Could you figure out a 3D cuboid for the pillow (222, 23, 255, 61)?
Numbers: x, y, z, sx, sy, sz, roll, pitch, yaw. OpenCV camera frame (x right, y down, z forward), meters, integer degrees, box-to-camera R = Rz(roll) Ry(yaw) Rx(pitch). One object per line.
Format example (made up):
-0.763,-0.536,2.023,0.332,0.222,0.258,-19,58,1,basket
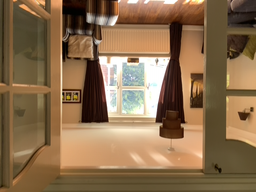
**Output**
1.930,-0.860,3.470,0.580,0.510,0.490,1,-179,5,pillow

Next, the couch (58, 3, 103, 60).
-0.910,-1.210,4.200,0.770,0.830,0.860,1,-179,-10,couch

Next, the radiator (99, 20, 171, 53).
0.160,-1.290,4.620,1.540,0.670,0.110,1,-179,-1,radiator
